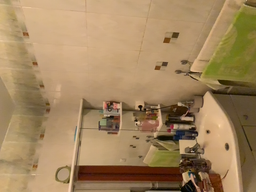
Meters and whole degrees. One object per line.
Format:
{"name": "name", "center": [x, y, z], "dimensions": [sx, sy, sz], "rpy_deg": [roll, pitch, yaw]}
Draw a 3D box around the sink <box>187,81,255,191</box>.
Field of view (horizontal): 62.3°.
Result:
{"name": "sink", "center": [0.710, 0.360, 1.660], "dimensions": [0.510, 0.160, 0.810], "rpy_deg": [101, 169, -51]}
